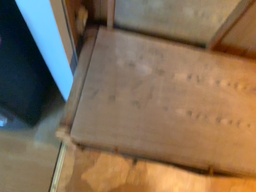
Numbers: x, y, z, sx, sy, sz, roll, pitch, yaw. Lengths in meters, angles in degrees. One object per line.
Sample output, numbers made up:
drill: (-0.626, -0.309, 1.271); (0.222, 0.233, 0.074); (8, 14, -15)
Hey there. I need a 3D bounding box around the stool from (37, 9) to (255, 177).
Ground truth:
stool: (0.120, 0.060, 0.930); (0.750, 0.540, 0.400); (13, 69, -2)
